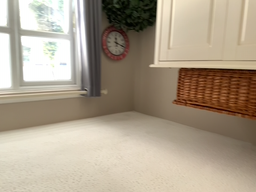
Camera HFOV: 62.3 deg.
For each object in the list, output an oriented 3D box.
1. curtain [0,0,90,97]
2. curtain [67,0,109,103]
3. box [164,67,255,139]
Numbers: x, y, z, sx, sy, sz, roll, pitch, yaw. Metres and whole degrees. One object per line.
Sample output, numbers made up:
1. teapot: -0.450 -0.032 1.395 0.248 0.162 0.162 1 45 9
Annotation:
1. curtain: -0.880 -0.560 1.710 1.180 1.090 0.180 -6 -168 -37
2. curtain: -0.350 -0.670 1.860 0.280 1.420 0.230 -6 -168 -39
3. box: 0.640 -0.010 1.270 0.540 0.300 0.620 -6 -168 -39
